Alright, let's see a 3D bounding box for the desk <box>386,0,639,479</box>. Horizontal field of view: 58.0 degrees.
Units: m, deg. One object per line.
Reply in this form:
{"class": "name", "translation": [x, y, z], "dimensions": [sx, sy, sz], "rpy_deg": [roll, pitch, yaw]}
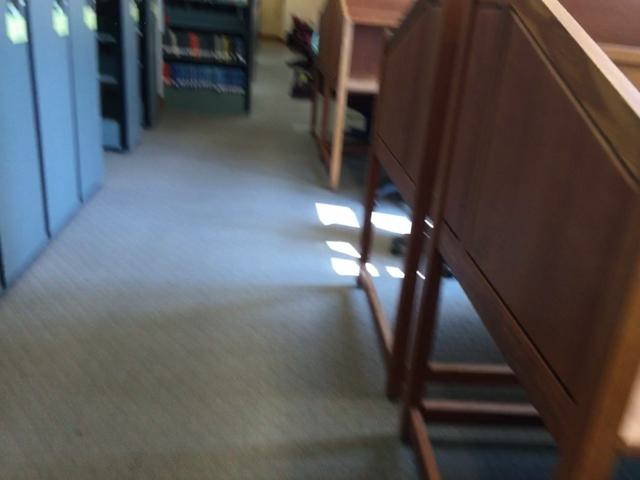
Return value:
{"class": "desk", "translation": [0.960, 0.200, 1.280], "dimensions": [1.310, 1.380, 0.990], "rpy_deg": [3, 23, -5]}
